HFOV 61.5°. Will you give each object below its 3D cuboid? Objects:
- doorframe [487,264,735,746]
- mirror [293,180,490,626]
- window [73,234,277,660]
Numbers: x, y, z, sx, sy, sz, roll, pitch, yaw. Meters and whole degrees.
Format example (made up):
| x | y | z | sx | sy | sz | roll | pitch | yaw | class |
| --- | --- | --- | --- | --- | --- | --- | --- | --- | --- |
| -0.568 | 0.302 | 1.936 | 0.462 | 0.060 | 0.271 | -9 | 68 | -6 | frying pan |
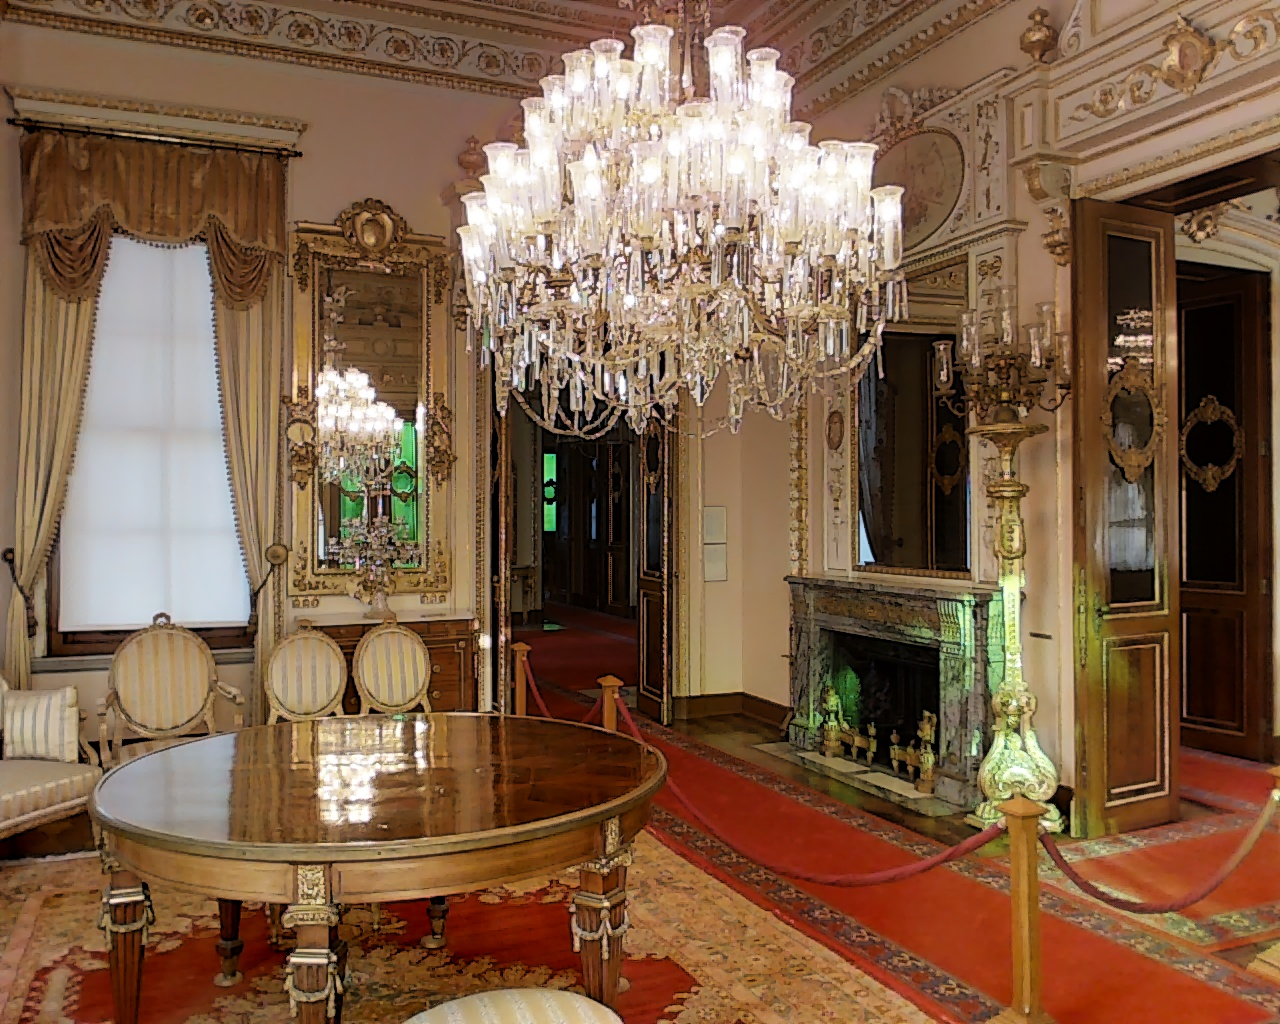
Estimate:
| x | y | z | sx | sy | sz | roll | pitch | yaw | class |
| --- | --- | --- | --- | --- | --- | --- | --- | --- | --- |
| -0.200 | -0.050 | 8.310 | 1.929 | 3.502 | 0.300 | 0 | 0 | -22 | doorframe |
| -1.769 | -0.750 | 7.730 | 1.369 | 3.061 | 0.170 | 0 | 0 | -22 | mirror |
| -3.099 | -0.420 | 7.220 | 1.250 | 2.741 | 0.110 | 0 | 0 | -22 | window |
